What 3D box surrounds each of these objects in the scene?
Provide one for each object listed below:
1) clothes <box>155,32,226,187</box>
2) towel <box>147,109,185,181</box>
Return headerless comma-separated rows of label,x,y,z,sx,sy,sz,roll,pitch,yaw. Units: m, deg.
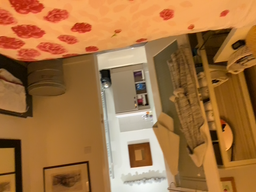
clothes,0.590,0.110,2.130,0.290,1.430,0.330,1,165,-33
towel,0.420,0.550,2.420,0.180,0.750,0.270,2,165,-34
